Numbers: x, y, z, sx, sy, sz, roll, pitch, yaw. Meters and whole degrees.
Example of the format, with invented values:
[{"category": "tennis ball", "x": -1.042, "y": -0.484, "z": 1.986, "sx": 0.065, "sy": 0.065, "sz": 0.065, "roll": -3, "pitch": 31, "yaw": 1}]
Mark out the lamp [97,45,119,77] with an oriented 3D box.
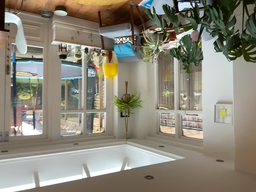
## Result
[{"category": "lamp", "x": -0.400, "y": -0.690, "z": 4.230, "sx": 0.370, "sy": 0.580, "sz": 0.280, "roll": -1, "pitch": 178, "yaw": 14}]
